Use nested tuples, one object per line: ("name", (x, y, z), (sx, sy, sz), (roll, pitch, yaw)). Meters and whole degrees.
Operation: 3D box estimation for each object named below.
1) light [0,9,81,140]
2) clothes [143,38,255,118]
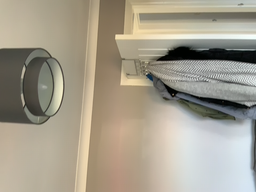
("light", (-0.470, -0.050, 0.860), (0.400, 0.410, 0.410), (7, 172, -32))
("clothes", (0.800, -0.070, 1.670), (1.300, 0.370, 0.940), (2, 170, 7))
